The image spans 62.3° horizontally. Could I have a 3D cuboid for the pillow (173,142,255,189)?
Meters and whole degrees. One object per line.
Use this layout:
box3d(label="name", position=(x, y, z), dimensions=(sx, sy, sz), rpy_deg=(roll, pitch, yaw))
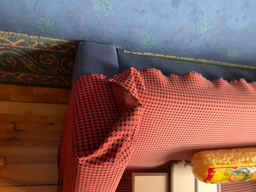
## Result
box3d(label="pillow", position=(0.560, 0.320, 1.010), dimensions=(0.640, 0.110, 0.190), rpy_deg=(0, 135, -11))
